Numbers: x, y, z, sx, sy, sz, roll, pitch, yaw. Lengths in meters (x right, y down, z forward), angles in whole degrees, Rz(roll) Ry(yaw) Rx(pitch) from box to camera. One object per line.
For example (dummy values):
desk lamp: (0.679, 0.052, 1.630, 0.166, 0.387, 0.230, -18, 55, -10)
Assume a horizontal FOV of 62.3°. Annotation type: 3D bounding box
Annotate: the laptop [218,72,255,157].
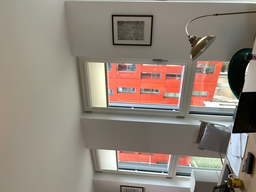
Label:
laptop: (0.850, 0.120, 1.500, 0.400, 0.220, 0.450, -78, -10, -59)
